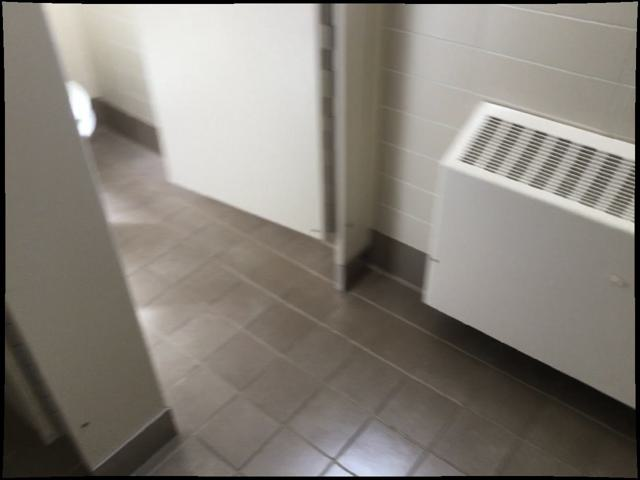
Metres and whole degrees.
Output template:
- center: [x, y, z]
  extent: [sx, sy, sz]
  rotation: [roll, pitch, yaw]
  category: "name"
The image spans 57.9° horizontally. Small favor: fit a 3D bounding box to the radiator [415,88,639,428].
- center: [0.629, 0.090, 1.180]
  extent: [0.870, 0.540, 0.190]
  rotation: [28, 49, 32]
  category: "radiator"
